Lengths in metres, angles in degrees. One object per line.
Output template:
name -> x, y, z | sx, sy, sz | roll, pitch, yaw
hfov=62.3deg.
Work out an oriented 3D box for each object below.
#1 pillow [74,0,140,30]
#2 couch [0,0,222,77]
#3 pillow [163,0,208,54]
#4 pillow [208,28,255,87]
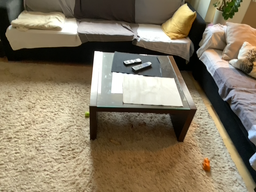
pillow -> -0.260, -1.090, 2.620 | 0.760, 0.410, 0.170 | 5, 40, -4
couch -> -0.270, -0.900, 2.590 | 2.300, 0.770, 0.930 | 4, 40, -5
pillow -> 0.650, -0.870, 2.490 | 0.170, 0.400, 0.590 | 6, 65, -29
pillow -> 1.150, -0.390, 2.080 | 0.480, 0.270, 0.620 | 5, 40, -4
